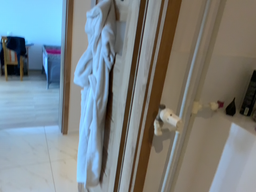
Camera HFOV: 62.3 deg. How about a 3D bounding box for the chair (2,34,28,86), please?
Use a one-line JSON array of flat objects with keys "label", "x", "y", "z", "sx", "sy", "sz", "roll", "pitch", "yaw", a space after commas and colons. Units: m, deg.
[{"label": "chair", "x": -2.420, "y": -0.770, "z": 4.560, "sx": 0.450, "sy": 1.000, "sz": 0.510, "roll": -2, "pitch": 22, "yaw": -30}]
